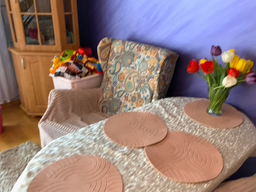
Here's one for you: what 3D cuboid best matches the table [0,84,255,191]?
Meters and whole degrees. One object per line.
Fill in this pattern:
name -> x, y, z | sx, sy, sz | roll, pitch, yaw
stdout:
table -> 0.140, 0.540, 1.300 | 1.410, 0.720, 0.750 | -21, 33, -39
